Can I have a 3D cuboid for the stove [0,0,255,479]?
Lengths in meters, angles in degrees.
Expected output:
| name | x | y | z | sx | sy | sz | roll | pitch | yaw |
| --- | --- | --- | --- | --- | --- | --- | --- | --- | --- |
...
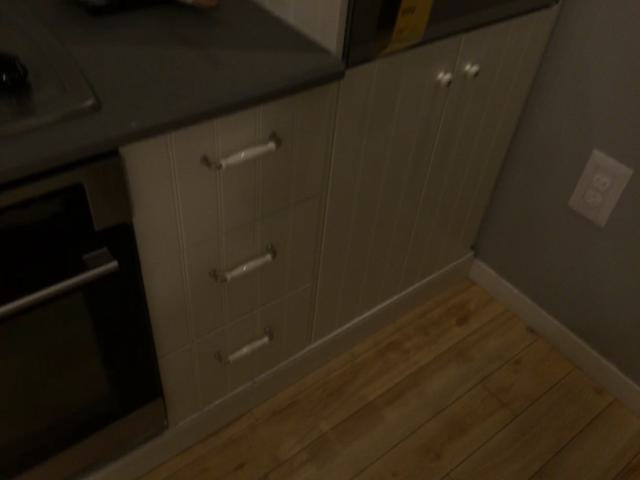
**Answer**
| name | x | y | z | sx | sy | sz | roll | pitch | yaw |
| --- | --- | --- | --- | --- | --- | --- | --- | --- | --- |
| stove | -0.710 | 0.160 | 1.040 | 0.970 | 1.010 | 0.670 | -24 | 48 | -30 |
